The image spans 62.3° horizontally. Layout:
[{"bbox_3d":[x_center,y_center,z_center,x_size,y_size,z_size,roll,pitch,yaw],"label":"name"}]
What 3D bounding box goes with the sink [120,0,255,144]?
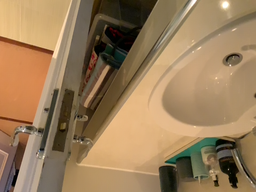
[{"bbox_3d":[0.310,-0.070,0.690,0.490,0.190,0.590,13,143,-18],"label":"sink"}]
